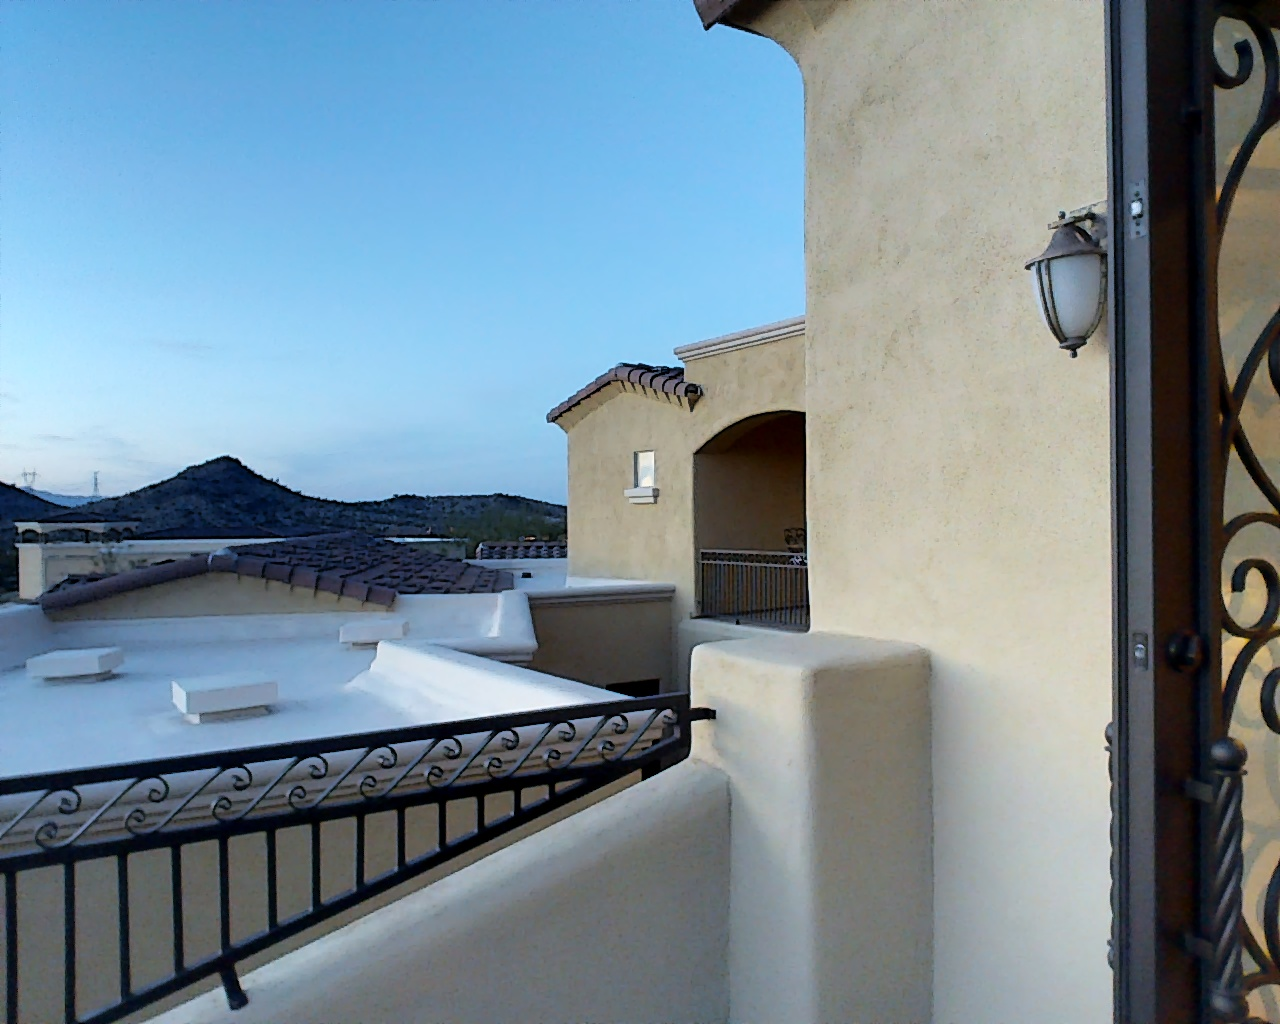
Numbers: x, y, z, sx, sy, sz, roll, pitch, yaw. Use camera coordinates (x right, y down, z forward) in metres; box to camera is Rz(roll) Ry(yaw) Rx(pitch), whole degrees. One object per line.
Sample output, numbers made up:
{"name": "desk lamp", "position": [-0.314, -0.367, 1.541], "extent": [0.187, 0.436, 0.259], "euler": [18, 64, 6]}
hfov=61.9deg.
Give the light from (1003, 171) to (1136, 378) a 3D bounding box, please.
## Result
{"name": "light", "position": [0.980, -0.530, 2.440], "extent": [0.200, 0.410, 0.200], "euler": [0, -1, -32]}
